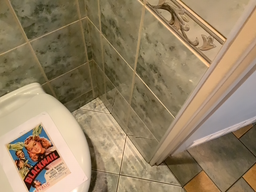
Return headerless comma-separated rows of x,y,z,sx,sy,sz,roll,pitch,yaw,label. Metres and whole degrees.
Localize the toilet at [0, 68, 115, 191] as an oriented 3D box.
-0.350,0.270,0.920,0.360,0.460,0.510,-30,68,-19,toilet
